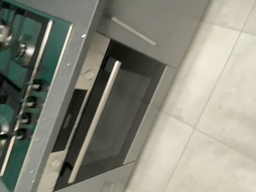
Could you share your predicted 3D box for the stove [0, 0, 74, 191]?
[{"bbox_3d":[-0.470,-0.040,0.740,0.530,0.040,0.600,28,102,30],"label":"stove"}]
